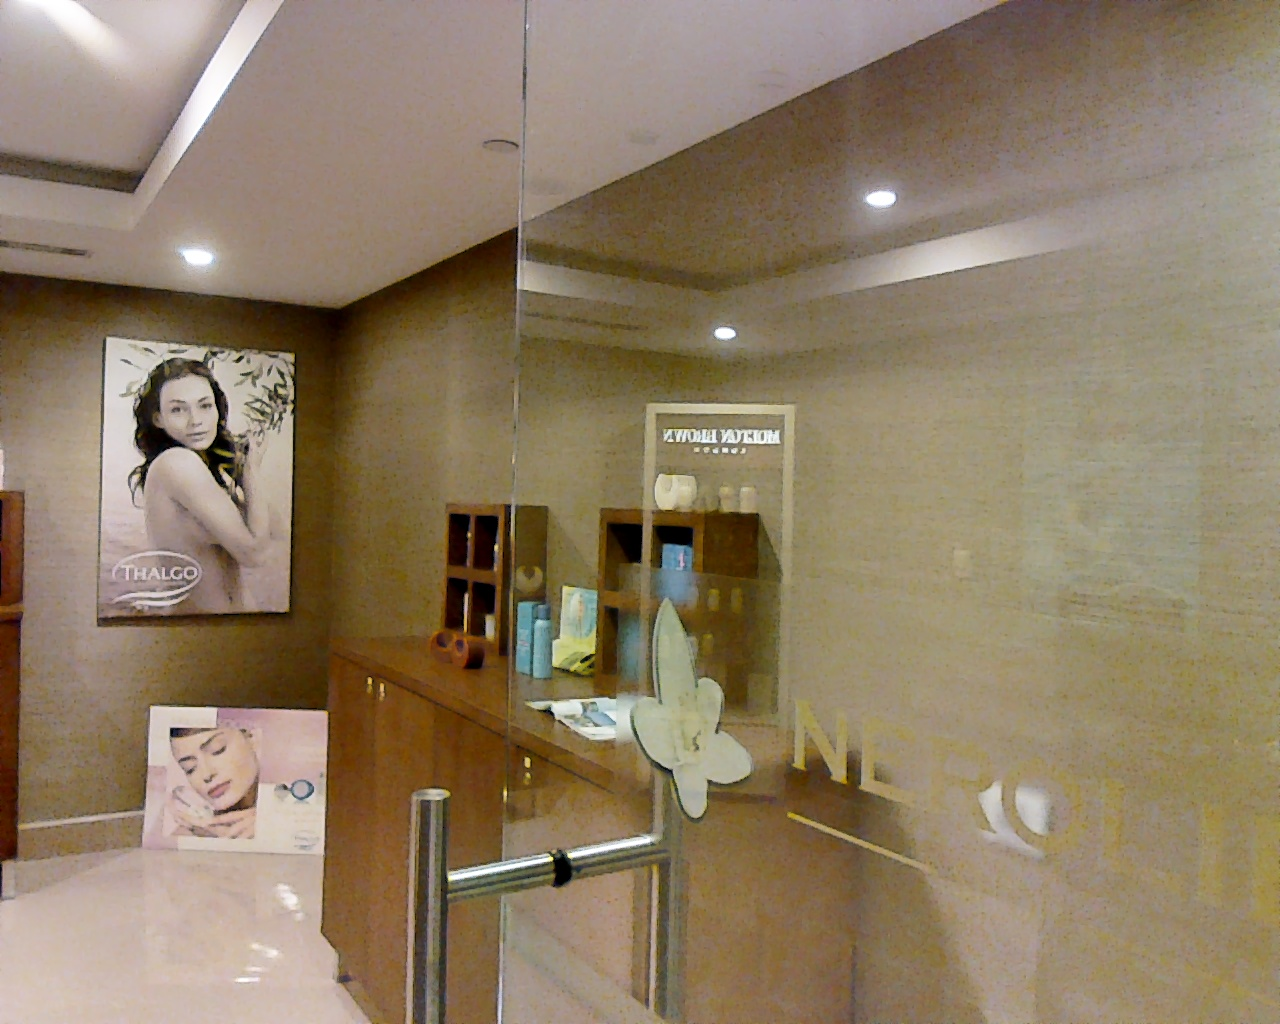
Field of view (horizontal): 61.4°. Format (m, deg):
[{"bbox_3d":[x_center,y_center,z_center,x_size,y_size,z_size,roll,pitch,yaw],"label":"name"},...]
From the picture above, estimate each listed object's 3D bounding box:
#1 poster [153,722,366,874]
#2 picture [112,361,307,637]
[{"bbox_3d":[-1.670,1.250,4.730,0.910,0.620,0.080,1,-1,3],"label":"poster"},{"bbox_3d":[-1.920,-0.050,4.840,0.790,1.180,0.070,1,0,-31],"label":"picture"}]
